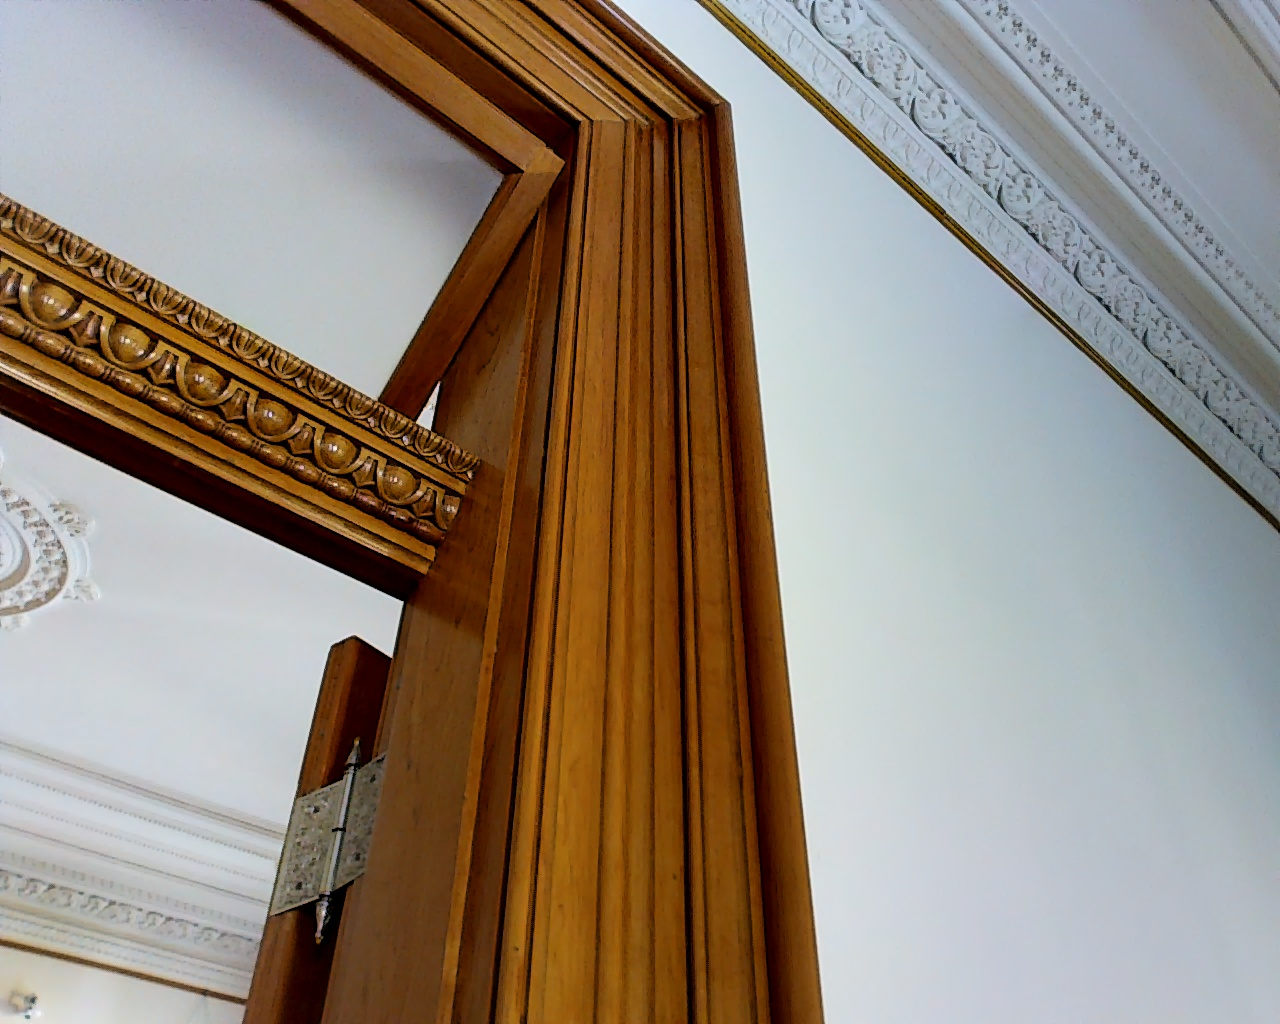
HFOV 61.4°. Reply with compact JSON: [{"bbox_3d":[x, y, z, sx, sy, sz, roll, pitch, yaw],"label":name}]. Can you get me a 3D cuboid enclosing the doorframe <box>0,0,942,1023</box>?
[{"bbox_3d":[-0.480,0.290,0.510,1.510,3.201,0.420,29,-49,-28],"label":"doorframe"}]
